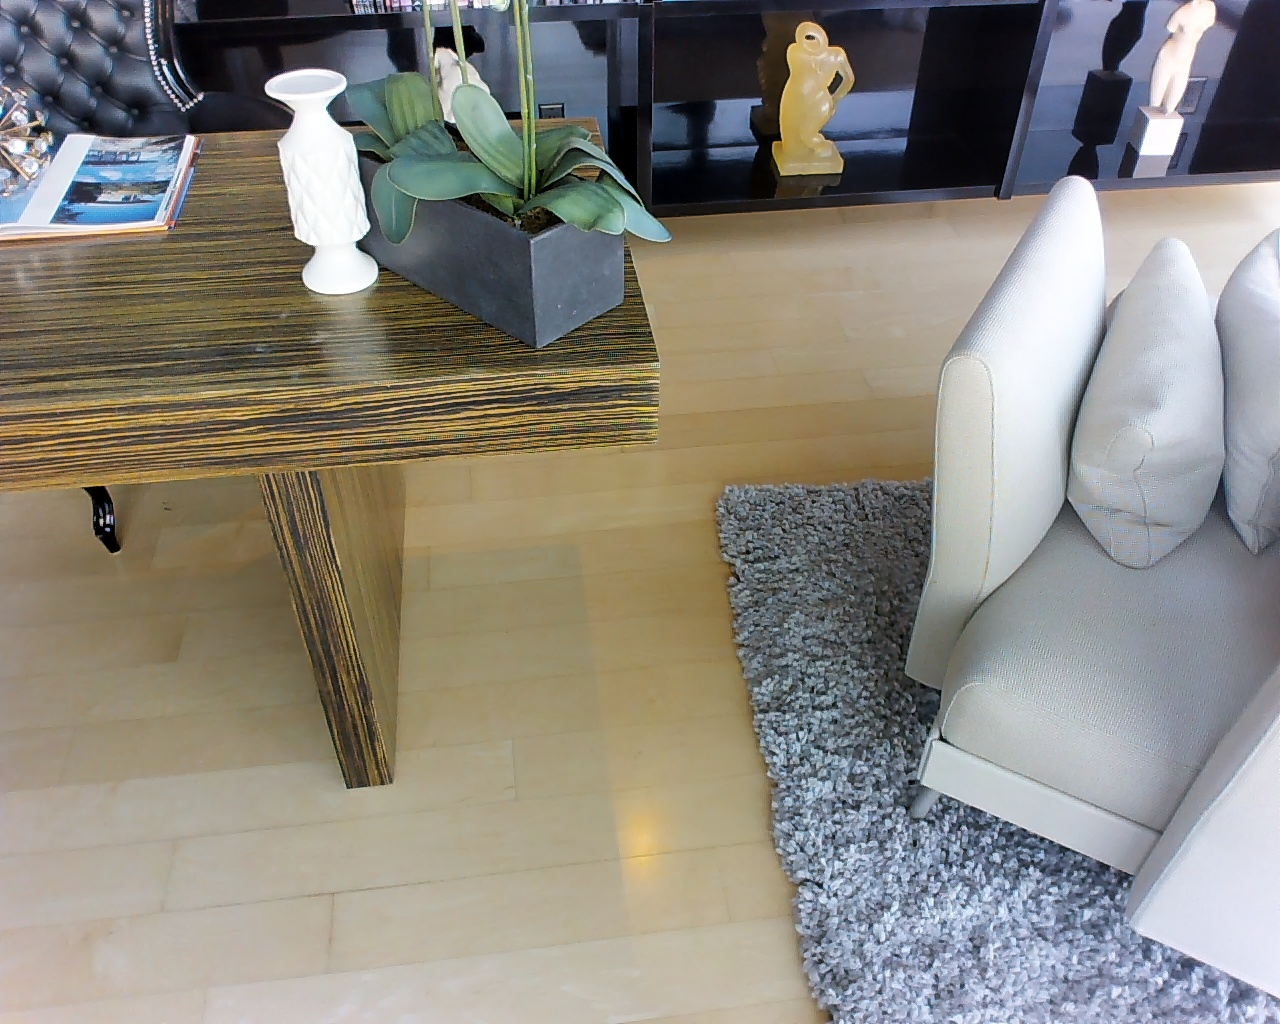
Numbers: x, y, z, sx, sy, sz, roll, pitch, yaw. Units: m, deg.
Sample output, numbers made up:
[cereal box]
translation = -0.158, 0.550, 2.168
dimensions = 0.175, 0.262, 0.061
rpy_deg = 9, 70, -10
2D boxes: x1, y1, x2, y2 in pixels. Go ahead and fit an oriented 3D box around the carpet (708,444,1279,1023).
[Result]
[carpet]
translation = 1.360, 0.410, 1.880
dimensions = 2.279, 0.060, 1.600
rpy_deg = -3, 42, -4
